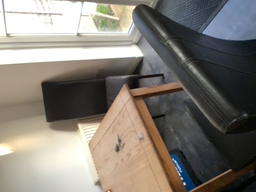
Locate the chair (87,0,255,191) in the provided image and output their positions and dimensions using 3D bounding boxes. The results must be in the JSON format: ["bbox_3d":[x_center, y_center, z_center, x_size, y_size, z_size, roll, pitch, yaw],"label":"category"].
[{"bbox_3d":[0.480,0.050,0.960,0.500,1.110,0.650,61,145,30],"label":"chair"}]

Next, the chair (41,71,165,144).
[{"bbox_3d":[-0.260,0.030,2.240,0.710,1.080,0.470,16,112,57],"label":"chair"}]
